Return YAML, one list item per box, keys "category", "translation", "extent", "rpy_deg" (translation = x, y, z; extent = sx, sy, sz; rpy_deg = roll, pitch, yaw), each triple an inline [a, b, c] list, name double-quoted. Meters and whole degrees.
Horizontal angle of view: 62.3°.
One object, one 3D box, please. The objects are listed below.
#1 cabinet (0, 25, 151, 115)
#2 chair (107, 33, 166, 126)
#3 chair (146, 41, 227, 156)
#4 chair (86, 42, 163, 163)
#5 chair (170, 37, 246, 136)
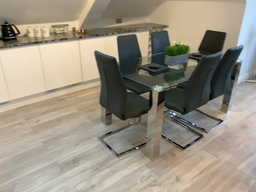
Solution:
- category: "cabinet"
  translation: [-1.290, -0.500, 3.400]
  extent: [3.870, 0.880, 0.740]
  rpy_deg: [-19, 32, -35]
- category: "chair"
  translation: [0.090, -0.240, 2.790]
  extent: [0.460, 1.030, 0.550]
  rpy_deg: [-19, 32, -35]
- category: "chair"
  translation: [0.580, 0.000, 2.300]
  extent: [0.460, 1.030, 0.560]
  rpy_deg: [-20, 33, -36]
- category: "chair"
  translation: [-0.040, 0.040, 2.190]
  extent: [0.530, 1.040, 0.480]
  rpy_deg: [-21, 34, -38]
- category: "chair"
  translation: [0.940, -0.140, 2.620]
  extent: [0.460, 1.020, 0.570]
  rpy_deg: [-20, 33, -36]
